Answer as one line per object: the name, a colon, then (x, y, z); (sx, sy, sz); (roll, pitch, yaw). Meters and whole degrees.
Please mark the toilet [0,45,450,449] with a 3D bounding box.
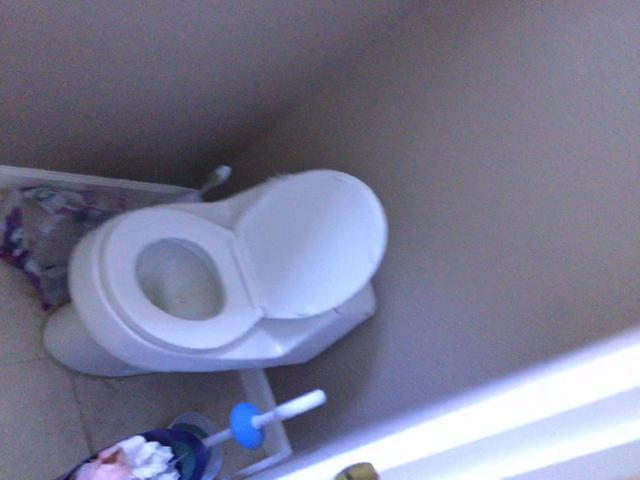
toilet: (-0.240, 0.070, 1.430); (0.770, 0.490, 0.700); (-32, -20, 27)
